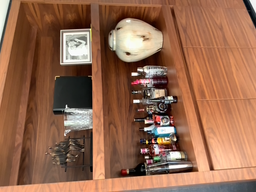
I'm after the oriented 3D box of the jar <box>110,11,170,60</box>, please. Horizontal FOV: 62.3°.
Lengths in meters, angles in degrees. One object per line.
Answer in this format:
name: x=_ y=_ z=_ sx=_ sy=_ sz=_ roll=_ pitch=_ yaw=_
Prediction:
jar: x=0.090 y=-0.550 z=1.970 sx=0.270 sy=0.490 sz=0.330 roll=107 pitch=160 yaw=-65
